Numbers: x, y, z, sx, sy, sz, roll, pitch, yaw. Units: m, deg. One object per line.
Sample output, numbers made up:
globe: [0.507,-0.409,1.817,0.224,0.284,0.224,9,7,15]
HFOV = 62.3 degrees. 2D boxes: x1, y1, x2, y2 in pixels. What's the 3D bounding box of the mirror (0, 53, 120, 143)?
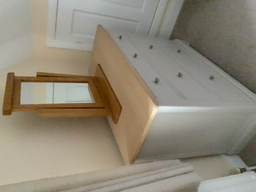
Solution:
mirror: [-0.450,-0.020,1.380,0.560,0.610,0.240,-120,38,-46]
